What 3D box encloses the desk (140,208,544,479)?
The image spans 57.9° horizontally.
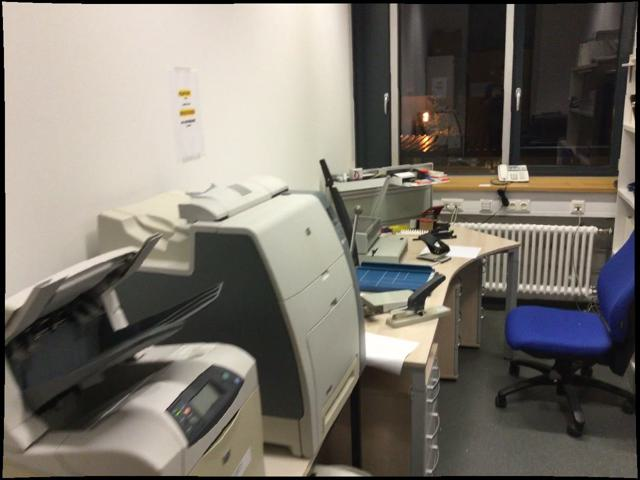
[{"bbox_3d":[0.340,0.420,2.870,1.059,0.731,2.150,6,16,30],"label":"desk"}]

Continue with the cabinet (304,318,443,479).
[{"bbox_3d":[0.230,0.691,2.210,0.420,0.591,0.520,2,17,16],"label":"cabinet"}]

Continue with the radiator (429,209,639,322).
[{"bbox_3d":[1.389,0.150,3.910,1.259,0.651,0.270,2,17,16],"label":"radiator"}]
